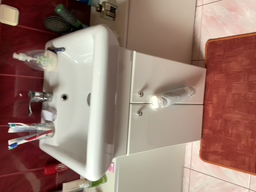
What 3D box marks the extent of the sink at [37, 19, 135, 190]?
[{"bbox_3d":[-0.210,0.020,0.920,0.470,0.160,0.560,4,91,46],"label":"sink"}]
